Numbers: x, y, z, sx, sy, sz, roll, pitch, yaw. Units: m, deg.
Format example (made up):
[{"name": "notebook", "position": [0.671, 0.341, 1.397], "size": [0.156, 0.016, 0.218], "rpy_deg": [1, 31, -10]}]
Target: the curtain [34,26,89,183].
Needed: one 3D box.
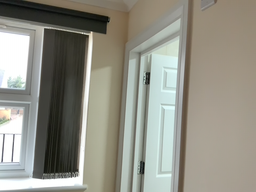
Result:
[{"name": "curtain", "position": [-0.530, 0.070, 1.720], "size": [0.330, 1.200, 0.110], "rpy_deg": [4, -2, -19]}]
